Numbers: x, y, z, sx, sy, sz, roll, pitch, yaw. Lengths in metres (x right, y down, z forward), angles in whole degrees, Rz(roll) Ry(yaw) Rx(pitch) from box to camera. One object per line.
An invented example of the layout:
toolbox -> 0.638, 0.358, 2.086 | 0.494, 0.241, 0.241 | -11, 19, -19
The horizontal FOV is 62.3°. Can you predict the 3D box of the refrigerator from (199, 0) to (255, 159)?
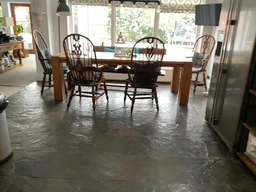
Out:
refrigerator -> 1.420, -0.300, 2.400 | 0.690, 1.710, 0.940 | 2, 19, -1
